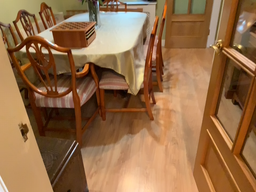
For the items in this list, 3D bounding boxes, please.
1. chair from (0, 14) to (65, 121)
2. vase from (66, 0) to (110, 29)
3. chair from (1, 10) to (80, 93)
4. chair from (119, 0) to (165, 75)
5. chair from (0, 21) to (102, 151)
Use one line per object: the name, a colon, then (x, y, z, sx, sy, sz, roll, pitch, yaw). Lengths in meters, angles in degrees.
chair: (-1.060, -0.290, 2.160, 0.510, 0.940, 0.480, 4, 32, 9)
vase: (-0.430, -1.040, 2.310, 0.360, 0.520, 0.350, 4, 31, 10)
chair: (-1.020, -0.560, 2.650, 0.560, 0.890, 0.490, 4, 32, 9)
chair: (0.210, -0.860, 3.020, 0.550, 0.970, 0.530, 4, 32, 8)
chair: (-0.580, -0.080, 1.780, 0.540, 0.950, 0.490, 3, 32, 7)
